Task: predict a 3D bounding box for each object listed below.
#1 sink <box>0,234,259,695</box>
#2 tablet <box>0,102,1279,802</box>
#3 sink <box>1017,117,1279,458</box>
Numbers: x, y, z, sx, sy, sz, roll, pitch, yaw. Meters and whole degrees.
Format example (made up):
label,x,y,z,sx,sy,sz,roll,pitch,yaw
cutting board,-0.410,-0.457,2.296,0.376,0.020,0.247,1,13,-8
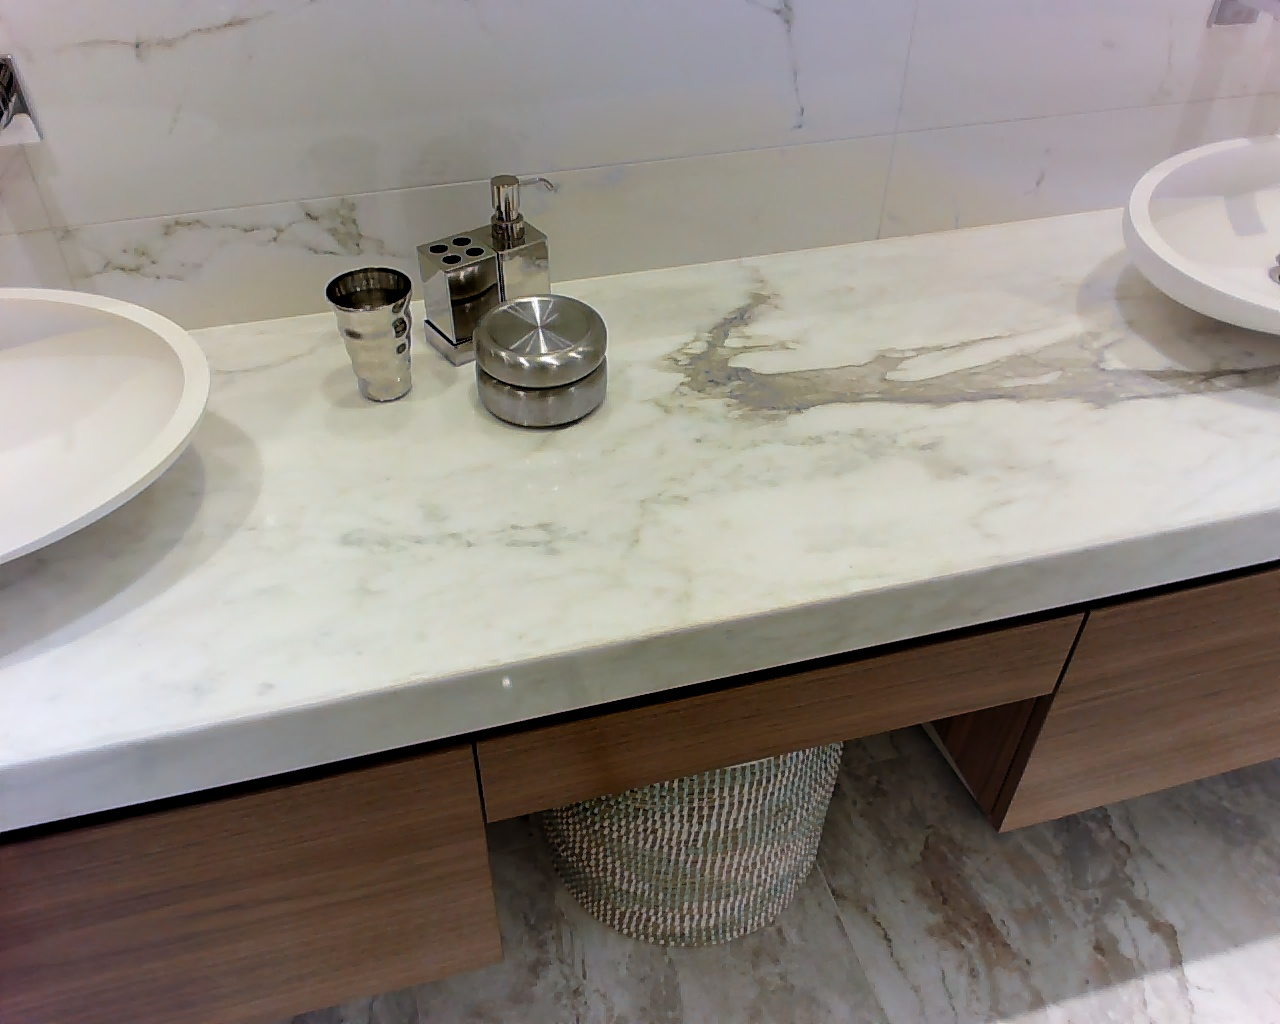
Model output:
label,x,y,z,sx,sy,sz,roll,pitch,yaw
sink,-0.620,-0.030,0.860,0.570,0.150,0.390,-10,43,-12
tablet,-0.480,-0.040,0.900,3.440,0.140,0.560,-10,43,-12
sink,0.780,-0.280,1.170,0.560,0.140,0.400,-10,43,-12
